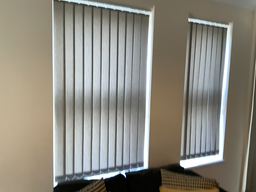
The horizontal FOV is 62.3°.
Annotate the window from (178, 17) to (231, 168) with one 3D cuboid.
[{"bbox_3d":[0.850,-0.010,2.350,0.580,1.590,0.040,-1,7,-24],"label":"window"}]

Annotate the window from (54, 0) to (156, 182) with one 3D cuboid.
[{"bbox_3d":[-0.180,-0.040,1.870,0.900,1.490,0.030,-1,7,-25],"label":"window"}]
